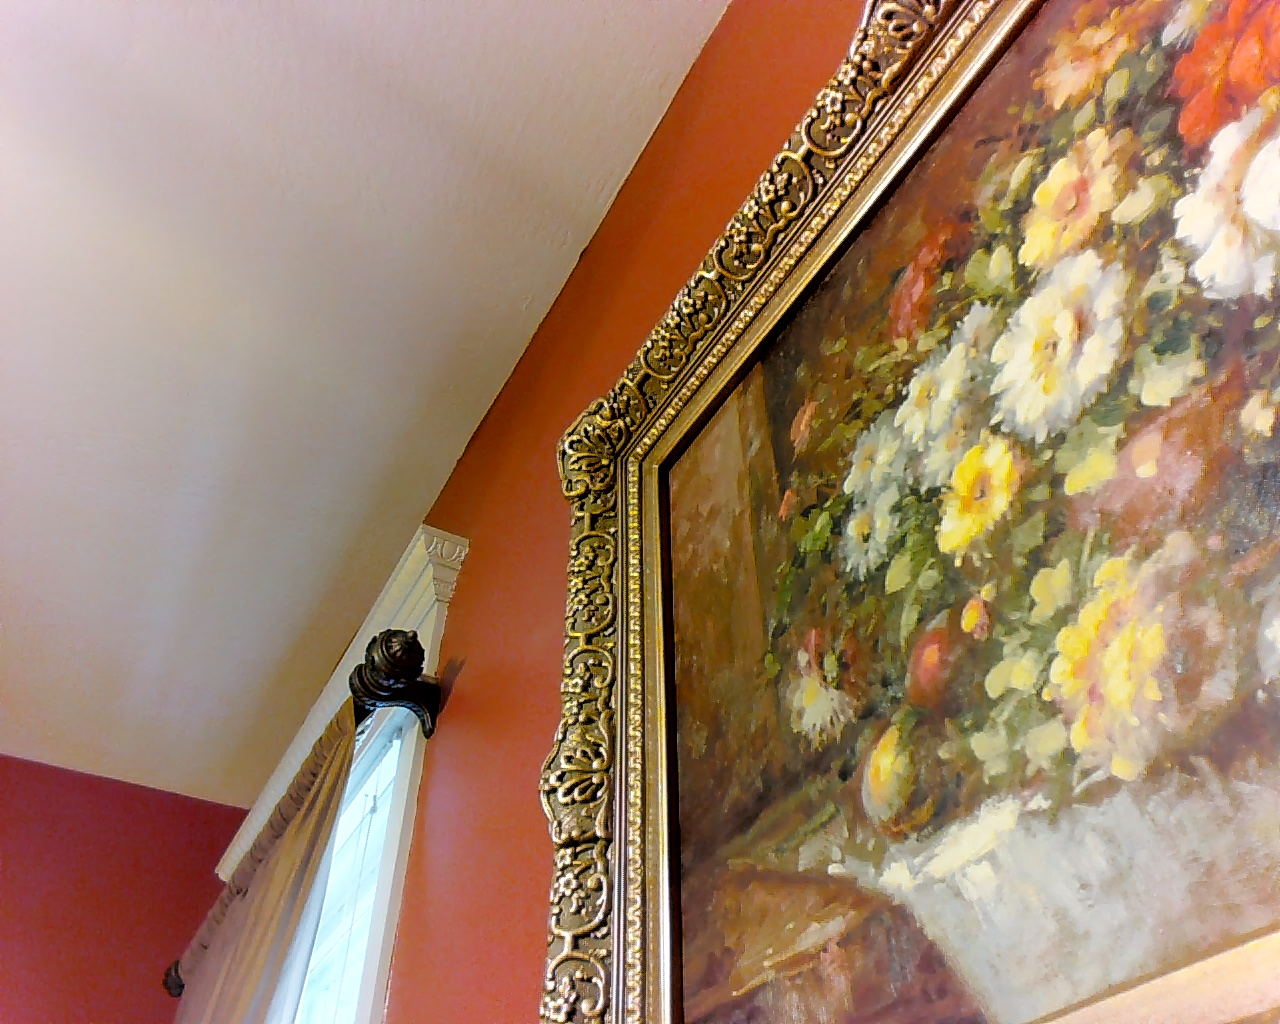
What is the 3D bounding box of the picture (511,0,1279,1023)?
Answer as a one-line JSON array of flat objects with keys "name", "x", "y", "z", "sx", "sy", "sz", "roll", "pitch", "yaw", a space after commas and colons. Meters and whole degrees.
[{"name": "picture", "x": 0.220, "y": -0.120, "z": 0.570, "sx": 0.090, "sy": 0.890, "sz": 1.160, "roll": 20, "pitch": -46, "yaw": -20}]
